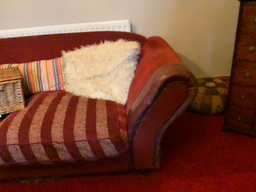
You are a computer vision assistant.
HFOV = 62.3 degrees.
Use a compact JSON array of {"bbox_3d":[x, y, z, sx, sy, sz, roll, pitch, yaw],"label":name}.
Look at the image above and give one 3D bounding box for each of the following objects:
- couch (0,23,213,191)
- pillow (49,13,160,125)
[{"bbox_3d":[-0.820,0.000,1.660,2.400,0.800,1.280,-3,26,1],"label":"couch"},{"bbox_3d":[-0.170,-0.210,1.720,0.590,0.600,0.320,-42,10,24],"label":"pillow"}]
